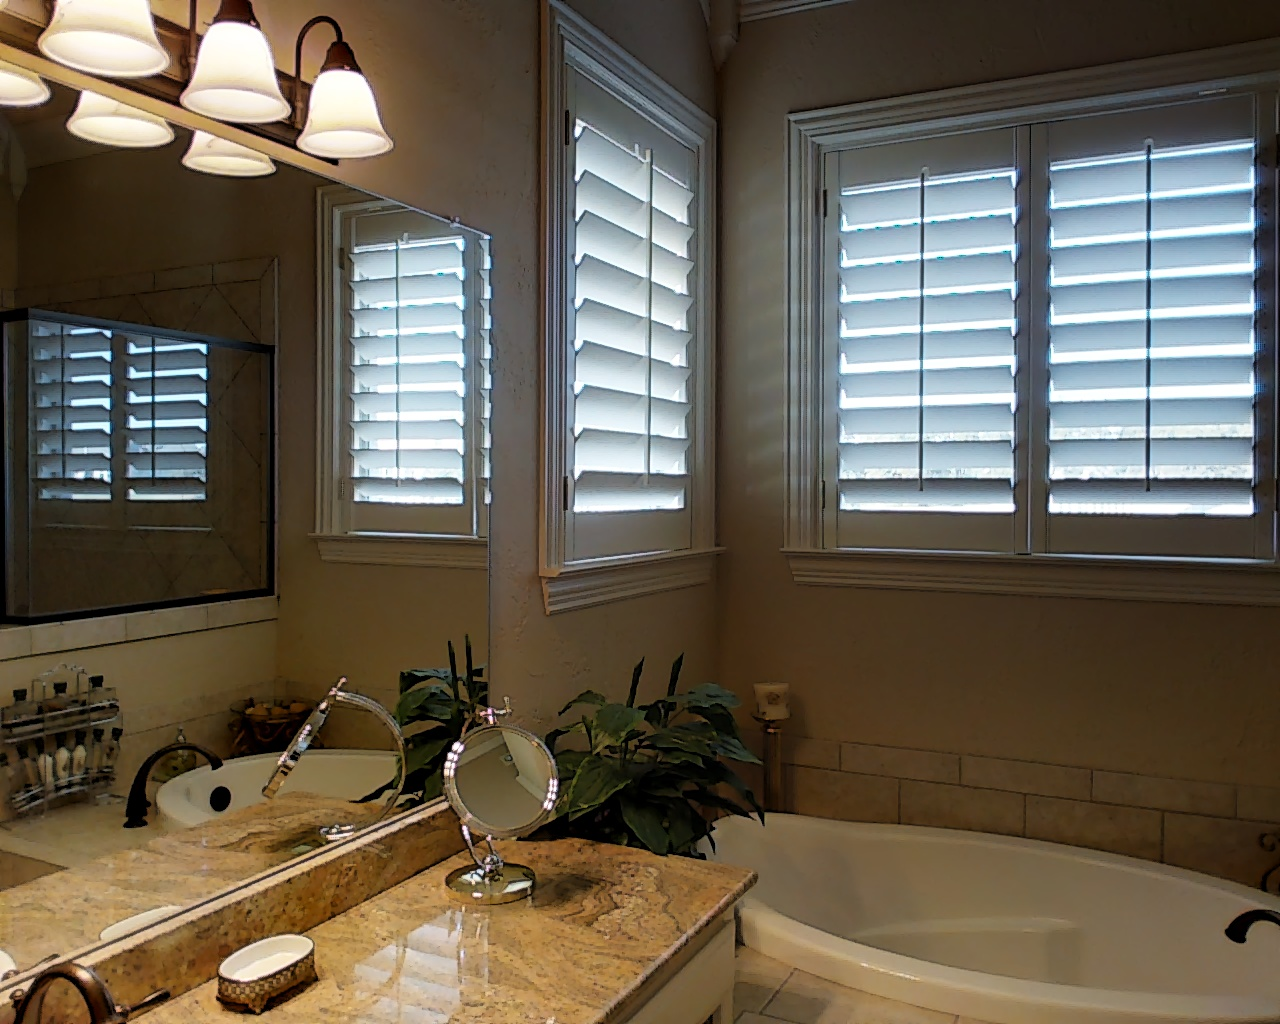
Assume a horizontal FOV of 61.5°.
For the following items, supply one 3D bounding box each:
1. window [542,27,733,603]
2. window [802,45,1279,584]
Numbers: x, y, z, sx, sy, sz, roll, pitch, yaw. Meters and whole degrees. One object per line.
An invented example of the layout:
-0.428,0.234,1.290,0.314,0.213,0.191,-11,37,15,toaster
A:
0.030,-0.440,2.840,0.070,1.280,0.960,1,1,27,window
1.080,-0.480,2.880,1.310,1.300,0.090,1,1,27,window
